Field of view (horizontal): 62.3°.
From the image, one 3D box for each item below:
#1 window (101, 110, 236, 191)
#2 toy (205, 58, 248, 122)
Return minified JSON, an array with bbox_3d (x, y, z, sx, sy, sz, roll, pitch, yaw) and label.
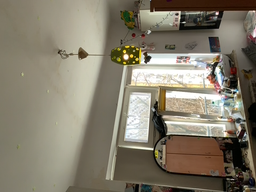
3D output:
[{"bbox_3d":[0.500,0.710,2.750,0.120,1.540,1.030,80,-165,-57],"label":"window"},{"bbox_3d":[1.380,-0.090,3.070,0.460,0.380,0.780,79,-164,-60],"label":"toy"}]
